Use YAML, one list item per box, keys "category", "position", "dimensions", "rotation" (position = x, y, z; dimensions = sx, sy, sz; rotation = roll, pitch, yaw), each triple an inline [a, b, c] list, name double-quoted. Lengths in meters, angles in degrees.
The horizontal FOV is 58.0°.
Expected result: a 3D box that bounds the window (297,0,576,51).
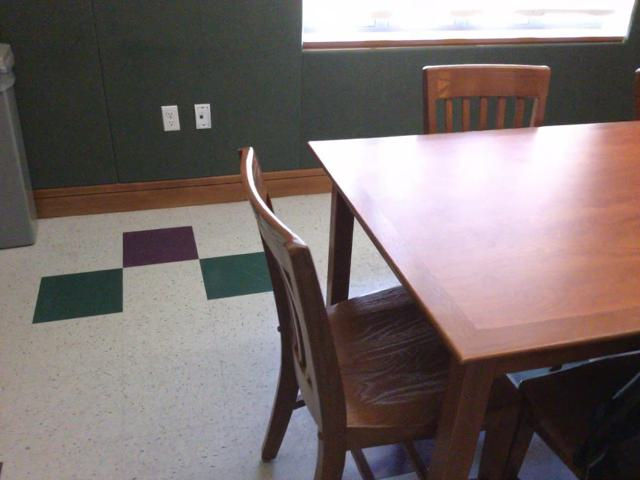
- category: "window"
  position: [0.600, -1.360, 2.690]
  dimensions: [1.430, 0.830, 0.140]
  rotation: [-8, 31, -15]
